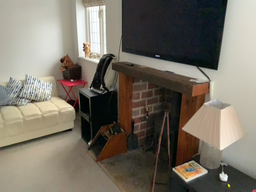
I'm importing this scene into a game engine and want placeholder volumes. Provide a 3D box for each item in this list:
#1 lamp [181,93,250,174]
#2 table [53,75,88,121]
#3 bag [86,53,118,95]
[{"bbox_3d":[0.600,0.240,1.500,0.260,0.430,0.300,-12,22,-33],"label":"lamp"},{"bbox_3d":[-1.050,0.010,3.880,0.360,0.660,0.590,-13,23,-36],"label":"table"},{"bbox_3d":[-0.340,-0.310,2.820,0.300,0.480,0.310,-11,22,-33],"label":"bag"}]
